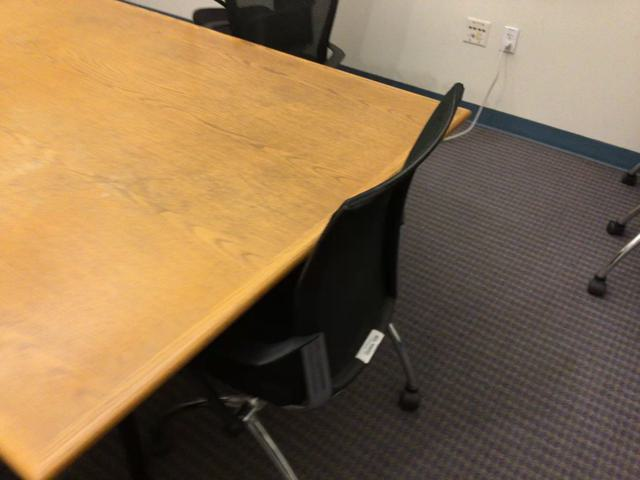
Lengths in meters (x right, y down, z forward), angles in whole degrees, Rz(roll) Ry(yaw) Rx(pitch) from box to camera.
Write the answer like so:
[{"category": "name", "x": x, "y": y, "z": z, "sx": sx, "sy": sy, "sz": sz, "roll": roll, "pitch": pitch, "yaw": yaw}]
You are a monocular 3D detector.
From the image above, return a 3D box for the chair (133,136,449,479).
[{"category": "chair", "x": -0.030, "y": 0.130, "z": 1.160, "sx": 0.290, "sy": 0.430, "sz": 0.530, "roll": 26, "pitch": 44, "yaw": 26}]
